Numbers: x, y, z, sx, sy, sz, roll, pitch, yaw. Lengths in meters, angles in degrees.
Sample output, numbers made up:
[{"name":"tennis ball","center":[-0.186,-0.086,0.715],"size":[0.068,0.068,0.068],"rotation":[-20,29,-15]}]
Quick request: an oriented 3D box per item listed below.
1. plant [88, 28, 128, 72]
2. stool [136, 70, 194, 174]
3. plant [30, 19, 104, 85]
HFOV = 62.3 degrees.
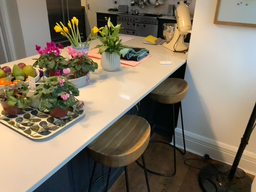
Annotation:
[{"name":"plant","center":[-0.140,-0.330,1.490],"size":[0.210,0.240,0.170],"rotation":[16,30,26]},{"name":"stool","center":[0.320,0.220,1.900],"size":[0.280,0.780,0.430],"rotation":[17,31,27]},{"name":"plant","center":[-0.360,-0.290,1.320],"size":[0.300,0.310,0.280],"rotation":[16,30,26]}]
